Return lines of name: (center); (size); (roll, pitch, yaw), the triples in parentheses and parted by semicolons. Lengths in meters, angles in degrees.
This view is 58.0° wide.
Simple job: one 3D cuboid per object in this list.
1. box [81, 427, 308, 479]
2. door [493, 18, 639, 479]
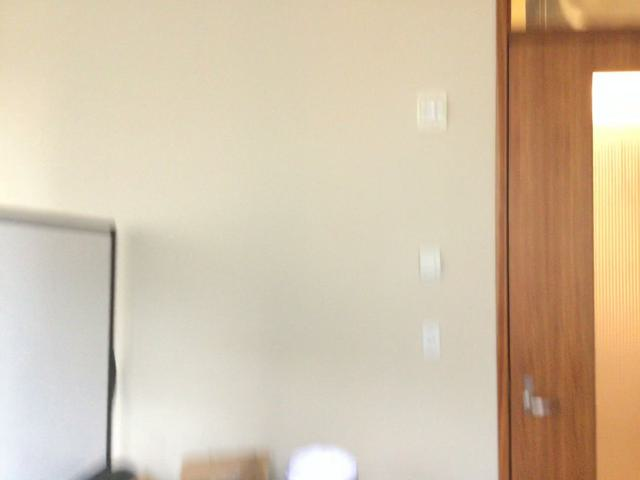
box: (-0.420, 1.000, 2.100); (0.640, 0.440, 0.590); (1, -4, 9)
door: (1.180, 0.390, 2.160); (0.970, 2.360, 0.270); (1, -2, 9)
